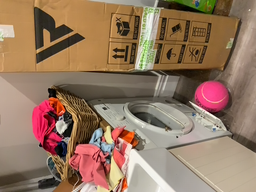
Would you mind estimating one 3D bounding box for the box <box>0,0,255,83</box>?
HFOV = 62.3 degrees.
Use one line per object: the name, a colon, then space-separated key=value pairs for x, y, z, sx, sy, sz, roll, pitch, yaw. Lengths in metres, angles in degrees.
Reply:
box: x=0.030 y=-0.320 z=1.170 sx=0.680 sy=1.460 sz=0.390 roll=14 pitch=102 yaw=51
